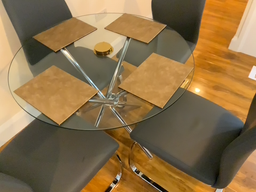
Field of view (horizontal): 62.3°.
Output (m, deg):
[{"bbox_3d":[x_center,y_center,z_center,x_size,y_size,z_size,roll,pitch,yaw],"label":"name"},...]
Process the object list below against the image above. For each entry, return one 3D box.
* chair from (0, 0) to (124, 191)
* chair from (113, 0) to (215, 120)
[{"bbox_3d":[-0.390,0.250,0.940,0.450,1.030,0.590,29,54,24],"label":"chair"},{"bbox_3d":[0.250,-0.410,1.550,0.450,1.030,0.530,26,53,23],"label":"chair"}]
